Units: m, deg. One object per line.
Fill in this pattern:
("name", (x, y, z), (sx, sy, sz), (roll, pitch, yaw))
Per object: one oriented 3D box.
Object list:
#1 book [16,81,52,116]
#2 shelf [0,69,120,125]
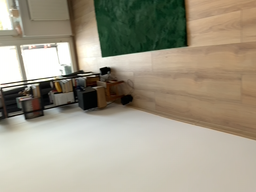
("book", (-1.240, 0.010, 2.790), (0.480, 0.280, 0.370), (8, 108, 55))
("shelf", (-0.900, -0.060, 3.000), (0.580, 1.460, 0.440), (10, 109, 54))
